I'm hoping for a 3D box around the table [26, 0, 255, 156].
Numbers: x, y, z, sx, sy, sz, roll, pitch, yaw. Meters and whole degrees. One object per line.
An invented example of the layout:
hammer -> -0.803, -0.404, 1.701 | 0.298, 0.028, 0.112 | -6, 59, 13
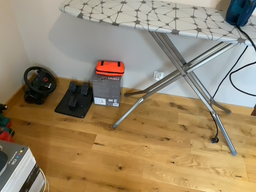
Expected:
table -> 0.190, -0.170, 1.500 | 1.440, 0.870, 0.460 | 11, 44, 9
